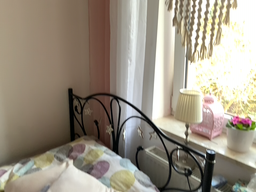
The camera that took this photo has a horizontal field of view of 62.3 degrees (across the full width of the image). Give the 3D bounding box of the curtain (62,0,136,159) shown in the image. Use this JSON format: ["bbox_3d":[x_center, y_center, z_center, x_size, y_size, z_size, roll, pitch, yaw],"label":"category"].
[{"bbox_3d":[-0.240,-0.650,1.610,0.280,2.170,0.560,-12,21,-40],"label":"curtain"}]

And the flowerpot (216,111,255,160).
[{"bbox_3d":[0.600,0.200,1.130,0.140,0.180,0.170,-10,20,-36],"label":"flowerpot"}]

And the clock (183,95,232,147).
[{"bbox_3d":[0.470,0.140,1.270,0.150,0.230,0.200,-10,20,-35],"label":"clock"}]
